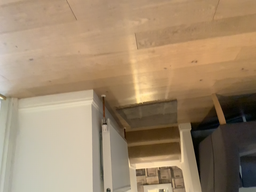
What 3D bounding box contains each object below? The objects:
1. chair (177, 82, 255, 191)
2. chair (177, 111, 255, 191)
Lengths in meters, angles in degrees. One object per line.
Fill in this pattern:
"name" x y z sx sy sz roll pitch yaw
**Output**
"chair" 1.120 0.530 2.320 0.820 0.960 1.150 -6 159 2
"chair" 1.970 0.770 3.160 2.220 0.970 0.690 -6 159 2
